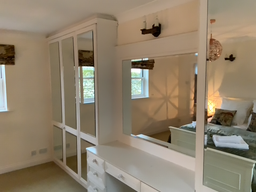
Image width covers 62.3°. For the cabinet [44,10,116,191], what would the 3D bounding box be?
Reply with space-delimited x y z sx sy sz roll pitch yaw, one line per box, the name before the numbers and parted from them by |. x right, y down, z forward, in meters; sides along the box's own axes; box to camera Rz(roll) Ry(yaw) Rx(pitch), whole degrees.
cabinet | -0.830 0.100 3.330 0.300 2.360 1.720 -5 7 -39
